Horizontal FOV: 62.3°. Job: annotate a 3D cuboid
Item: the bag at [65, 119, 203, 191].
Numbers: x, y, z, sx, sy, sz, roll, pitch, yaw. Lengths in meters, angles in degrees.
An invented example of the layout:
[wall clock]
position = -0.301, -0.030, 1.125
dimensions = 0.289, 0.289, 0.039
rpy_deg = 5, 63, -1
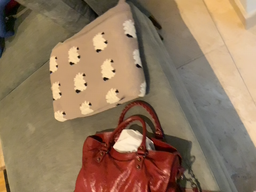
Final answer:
[bag]
position = 0.000, 0.260, 0.680
dimensions = 0.410, 0.120, 0.320
rpy_deg = 5, 88, 31

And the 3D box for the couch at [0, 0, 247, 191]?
[couch]
position = -0.120, 0.310, 1.060
dimensions = 1.060, 0.460, 1.010
rpy_deg = -26, 72, 26
